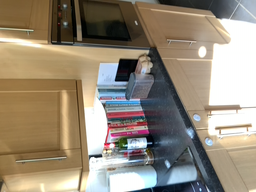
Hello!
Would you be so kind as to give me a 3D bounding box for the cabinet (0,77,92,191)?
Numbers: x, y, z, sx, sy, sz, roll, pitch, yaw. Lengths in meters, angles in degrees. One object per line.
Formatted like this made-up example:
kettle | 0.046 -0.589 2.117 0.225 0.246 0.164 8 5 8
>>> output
cabinet | -0.660 0.220 1.170 0.320 0.820 0.610 108 154 -45
